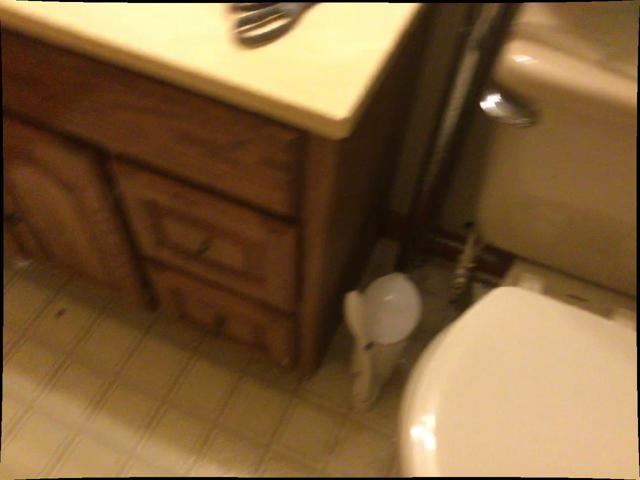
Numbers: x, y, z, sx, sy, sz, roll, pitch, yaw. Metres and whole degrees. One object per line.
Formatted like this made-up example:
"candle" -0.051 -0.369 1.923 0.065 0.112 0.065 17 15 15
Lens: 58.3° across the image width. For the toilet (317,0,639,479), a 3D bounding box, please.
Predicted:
"toilet" 0.350 0.160 0.830 0.490 0.740 0.670 21 54 12
